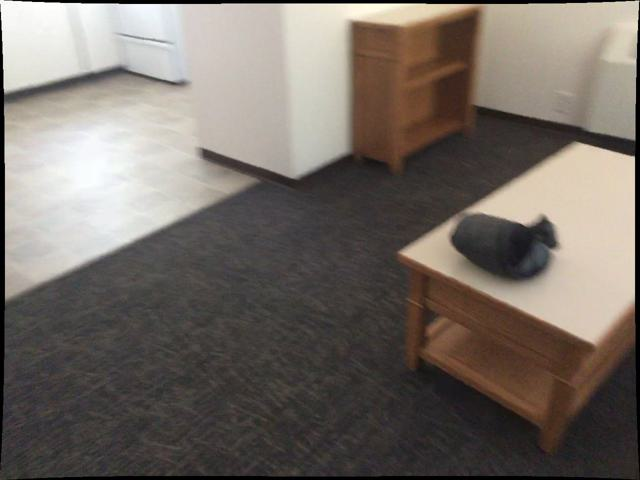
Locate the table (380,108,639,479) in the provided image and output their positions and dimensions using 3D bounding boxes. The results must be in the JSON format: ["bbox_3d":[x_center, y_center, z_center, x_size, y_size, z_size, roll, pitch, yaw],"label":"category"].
[{"bbox_3d":[0.789,0.070,1.820,0.669,0.541,1.100,23,41,34],"label":"table"}]

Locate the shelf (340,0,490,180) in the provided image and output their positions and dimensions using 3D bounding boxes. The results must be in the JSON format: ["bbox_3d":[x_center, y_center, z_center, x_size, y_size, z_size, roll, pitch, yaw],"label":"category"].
[{"bbox_3d":[0.519,-0.871,3.110,0.330,0.761,0.880,23,41,34],"label":"shelf"}]
